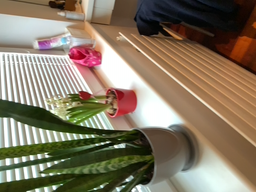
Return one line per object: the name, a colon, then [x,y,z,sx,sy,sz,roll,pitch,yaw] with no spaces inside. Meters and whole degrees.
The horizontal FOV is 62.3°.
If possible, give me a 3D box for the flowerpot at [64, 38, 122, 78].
flowerpot: [-0.210,-0.220,1.240,0.220,0.260,0.140,50,132,45]
